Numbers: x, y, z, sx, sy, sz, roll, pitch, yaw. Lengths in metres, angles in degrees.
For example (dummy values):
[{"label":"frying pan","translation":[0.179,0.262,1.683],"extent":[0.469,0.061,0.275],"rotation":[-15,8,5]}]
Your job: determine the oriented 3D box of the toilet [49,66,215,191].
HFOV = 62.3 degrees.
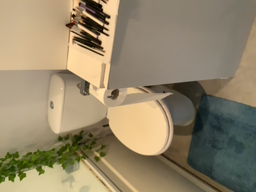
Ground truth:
[{"label":"toilet","translation":[0.000,0.100,1.340],"extent":[0.700,0.700,0.400],"rotation":[28,116,42]}]
